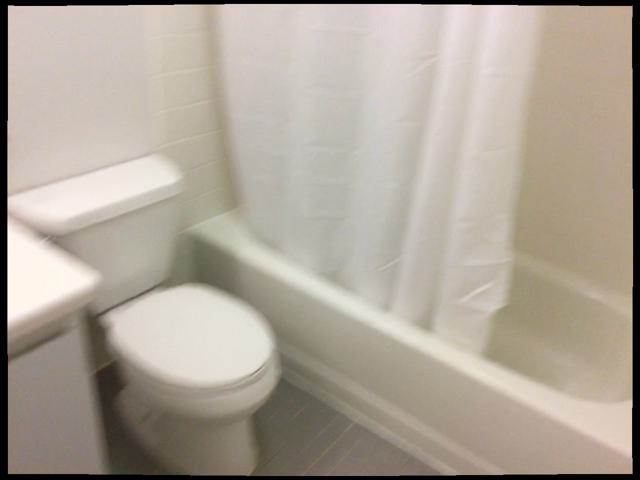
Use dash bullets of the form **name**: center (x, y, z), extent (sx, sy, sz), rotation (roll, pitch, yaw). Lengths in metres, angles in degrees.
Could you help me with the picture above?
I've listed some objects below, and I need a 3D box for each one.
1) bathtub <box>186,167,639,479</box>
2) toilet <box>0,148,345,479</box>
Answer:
- **bathtub**: center (0.349, 0.281, 2.010), extent (1.509, 0.401, 0.780), rotation (26, 35, 28)
- **toilet**: center (-0.419, 0.240, 1.610), extent (0.709, 0.691, 0.540), rotation (26, 35, 28)
